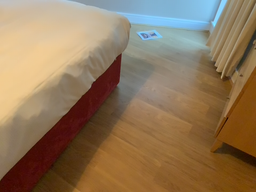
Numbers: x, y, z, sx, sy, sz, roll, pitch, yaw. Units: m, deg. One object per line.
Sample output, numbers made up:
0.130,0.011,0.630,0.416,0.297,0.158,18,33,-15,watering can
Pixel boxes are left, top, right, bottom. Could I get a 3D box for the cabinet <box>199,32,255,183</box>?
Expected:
1.000,0.020,1.500,0.520,0.850,0.790,26,46,18,cabinet
